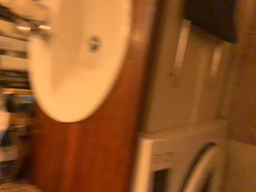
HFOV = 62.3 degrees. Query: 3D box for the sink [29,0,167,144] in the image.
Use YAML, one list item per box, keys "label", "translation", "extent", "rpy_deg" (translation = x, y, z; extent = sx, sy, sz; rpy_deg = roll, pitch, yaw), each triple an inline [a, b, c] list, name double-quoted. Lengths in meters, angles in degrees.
- label: "sink"
  translation: [-0.130, -0.170, 0.760]
  extent: [0.450, 0.170, 0.540]
  rpy_deg: [12, 97, 36]
